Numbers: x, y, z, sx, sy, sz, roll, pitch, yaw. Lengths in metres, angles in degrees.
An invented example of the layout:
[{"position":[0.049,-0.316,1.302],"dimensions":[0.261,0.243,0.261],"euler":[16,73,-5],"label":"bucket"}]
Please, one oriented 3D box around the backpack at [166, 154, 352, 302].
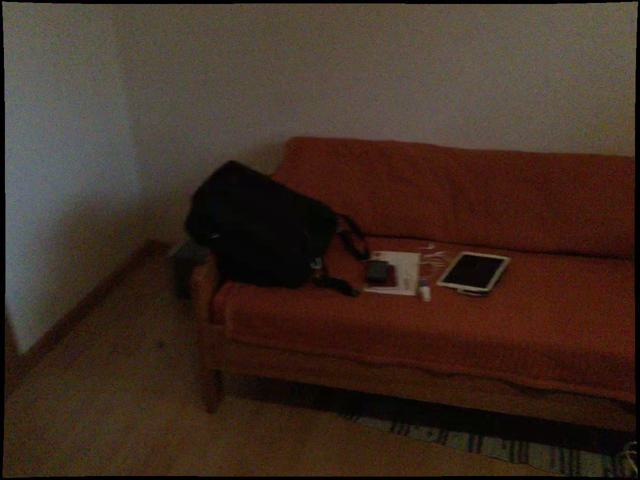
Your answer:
[{"position":[-0.170,-0.060,1.880],"dimensions":[0.509,0.320,0.440],"euler":[4,20,4],"label":"backpack"}]
